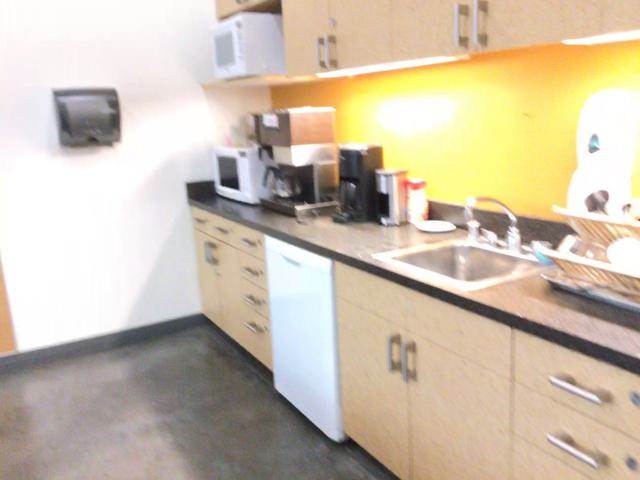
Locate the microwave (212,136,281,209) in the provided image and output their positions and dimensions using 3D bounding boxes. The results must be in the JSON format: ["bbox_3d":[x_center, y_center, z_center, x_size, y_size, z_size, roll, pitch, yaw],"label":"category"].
[{"bbox_3d":[-0.440,-0.410,3.380,0.220,0.390,0.570,-4,11,-27],"label":"microwave"}]
